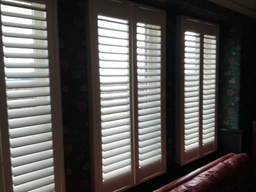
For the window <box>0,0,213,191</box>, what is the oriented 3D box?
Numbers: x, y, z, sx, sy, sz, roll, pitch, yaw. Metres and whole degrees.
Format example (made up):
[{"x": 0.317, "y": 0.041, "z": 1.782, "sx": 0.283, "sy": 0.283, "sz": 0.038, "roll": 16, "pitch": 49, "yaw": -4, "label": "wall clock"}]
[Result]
[{"x": -0.110, "y": -0.020, "z": 1.510, "sx": 2.520, "sy": 1.550, "sz": 0.200, "roll": -6, "pitch": 8, "yaw": -41, "label": "window"}]
